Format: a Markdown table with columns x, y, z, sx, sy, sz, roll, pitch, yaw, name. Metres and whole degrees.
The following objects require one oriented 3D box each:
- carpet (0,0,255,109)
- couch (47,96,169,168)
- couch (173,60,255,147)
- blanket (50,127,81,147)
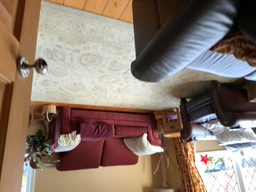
| x | y | z | sx | sy | sz | roll | pitch | yaw | name |
| --- | --- | --- | --- | --- | --- | --- | --- | --- | --- |
| -0.010 | -0.290 | 2.600 | 3.050 | 0.060 | 2.130 | 6 | 157 | -25 | carpet |
| -0.400 | 0.710 | 3.850 | 1.900 | 0.970 | 1.000 | 5 | 157 | -23 | couch |
| 1.420 | 0.200 | 3.000 | 0.980 | 0.850 | 1.080 | 5 | 157 | -23 | couch |
| -0.970 | 0.640 | 3.270 | 0.390 | 0.190 | 0.580 | 4 | 158 | -22 | blanket |
